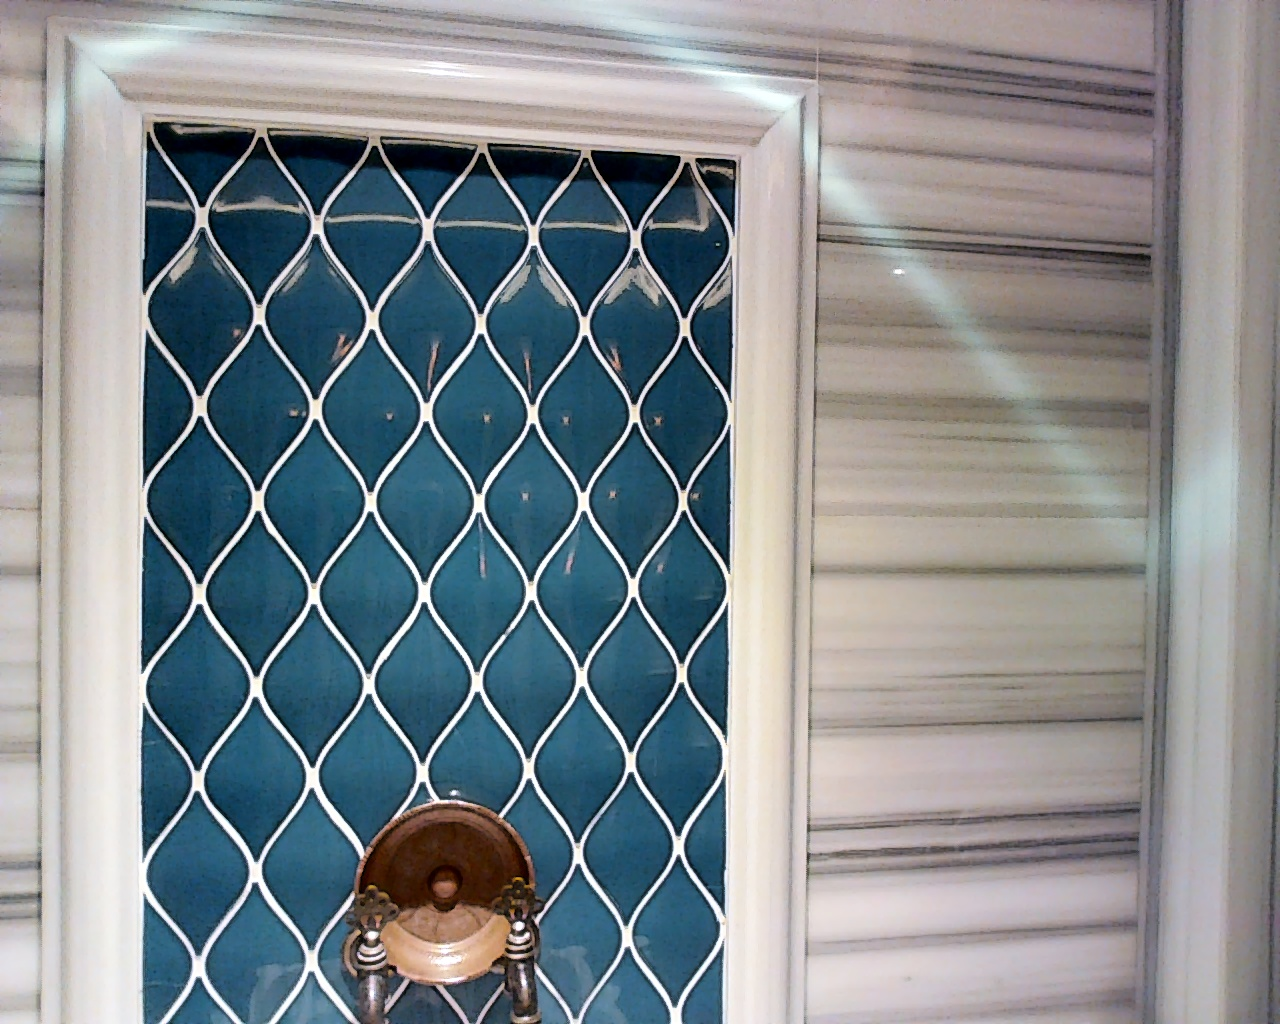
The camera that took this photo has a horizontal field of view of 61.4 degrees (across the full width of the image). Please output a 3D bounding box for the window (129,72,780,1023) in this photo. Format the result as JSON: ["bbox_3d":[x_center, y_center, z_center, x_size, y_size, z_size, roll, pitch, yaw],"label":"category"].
[{"bbox_3d":[-0.210,0.310,1.290,0.730,1.580,0.030,2,1,-11],"label":"window"}]
